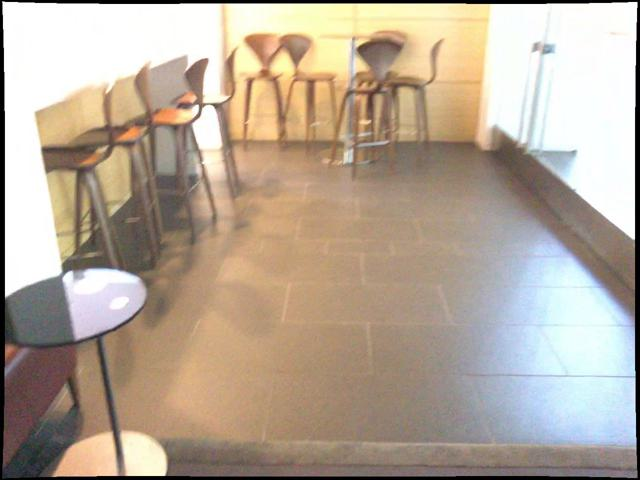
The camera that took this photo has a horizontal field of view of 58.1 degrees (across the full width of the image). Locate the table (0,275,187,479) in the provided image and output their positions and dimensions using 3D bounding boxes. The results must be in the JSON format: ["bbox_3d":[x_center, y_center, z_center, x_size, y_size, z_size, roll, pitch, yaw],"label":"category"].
[{"bbox_3d":[-0.658,0.531,1.700,0.369,0.762,0.370,2,27,2],"label":"table"}]

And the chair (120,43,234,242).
[{"bbox_3d":[-0.868,-0.632,3.710,0.459,1.122,0.600,2,27,2],"label":"chair"}]

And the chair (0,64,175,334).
[{"bbox_3d":[-1.167,-0.231,2.870,0.559,1.112,0.780,2,27,2],"label":"chair"}]
